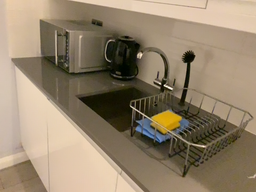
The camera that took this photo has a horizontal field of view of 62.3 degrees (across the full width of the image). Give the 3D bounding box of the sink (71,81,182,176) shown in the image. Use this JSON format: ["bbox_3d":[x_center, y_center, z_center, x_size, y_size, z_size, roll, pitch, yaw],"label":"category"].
[{"bbox_3d":[-0.020,0.120,1.070,0.390,0.230,0.370,-13,31,-39],"label":"sink"}]

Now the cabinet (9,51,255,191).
[{"bbox_3d":[-0.060,0.430,1.190,0.590,0.910,1.800,-13,31,-39],"label":"cabinet"}]
